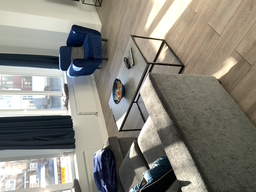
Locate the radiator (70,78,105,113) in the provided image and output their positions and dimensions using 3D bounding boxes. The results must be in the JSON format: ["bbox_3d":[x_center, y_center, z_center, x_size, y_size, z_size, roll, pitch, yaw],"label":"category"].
[{"bbox_3d":[-0.920,-0.040,4.670,1.030,0.600,0.060,-112,33,-41],"label":"radiator"}]

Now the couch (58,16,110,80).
[{"bbox_3d":[-0.980,-0.930,4.490,1.060,0.840,0.880,151,117,-63],"label":"couch"}]
